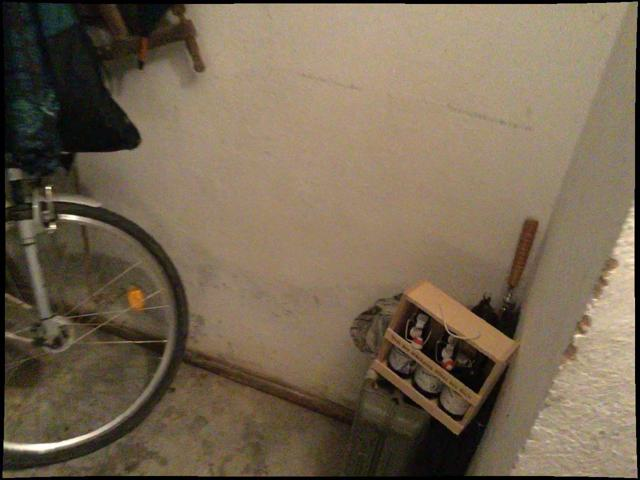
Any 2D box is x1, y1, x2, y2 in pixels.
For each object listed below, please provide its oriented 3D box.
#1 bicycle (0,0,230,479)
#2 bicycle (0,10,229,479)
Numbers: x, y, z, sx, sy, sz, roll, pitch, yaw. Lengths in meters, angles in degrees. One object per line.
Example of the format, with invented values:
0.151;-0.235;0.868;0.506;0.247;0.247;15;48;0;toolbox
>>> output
-1.039;-0.130;1.580;1.449;1.131;0.510;24;36;18;bicycle
-1.209;-0.070;1.630;1.739;1.131;0.580;21;35;14;bicycle
